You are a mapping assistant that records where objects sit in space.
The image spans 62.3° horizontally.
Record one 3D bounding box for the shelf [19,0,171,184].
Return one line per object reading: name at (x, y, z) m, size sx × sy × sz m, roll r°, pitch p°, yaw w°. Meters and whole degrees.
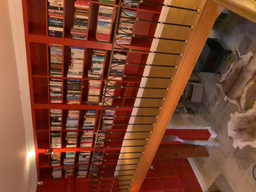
shelf at (-0.740, -0.210, 3.950) m, size 0.370 × 2.040 × 5.800 m, roll -108°, pitch 26°, yaw -50°
